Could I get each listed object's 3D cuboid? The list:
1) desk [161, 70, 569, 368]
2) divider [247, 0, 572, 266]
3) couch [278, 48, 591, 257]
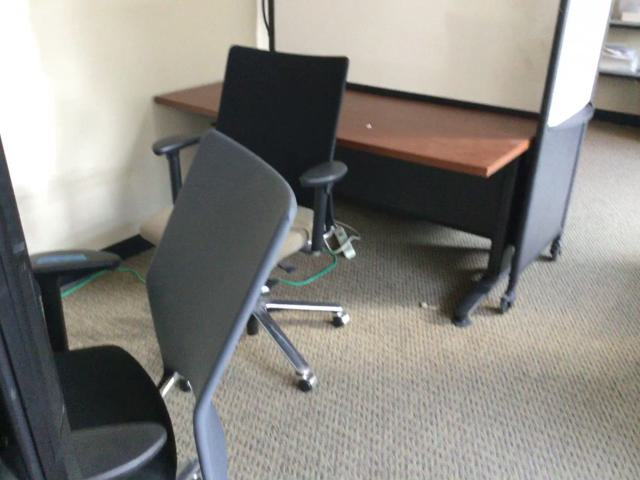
[{"bbox_3d":[0.130,-0.210,2.460,1.520,0.800,0.620,16,35,36],"label":"desk"},{"bbox_3d":[0.280,-0.770,2.450,1.440,1.560,0.120,16,35,36],"label":"divider"},{"bbox_3d":[0.560,-0.530,2.900,1.180,0.640,0.890,16,35,36],"label":"couch"}]
